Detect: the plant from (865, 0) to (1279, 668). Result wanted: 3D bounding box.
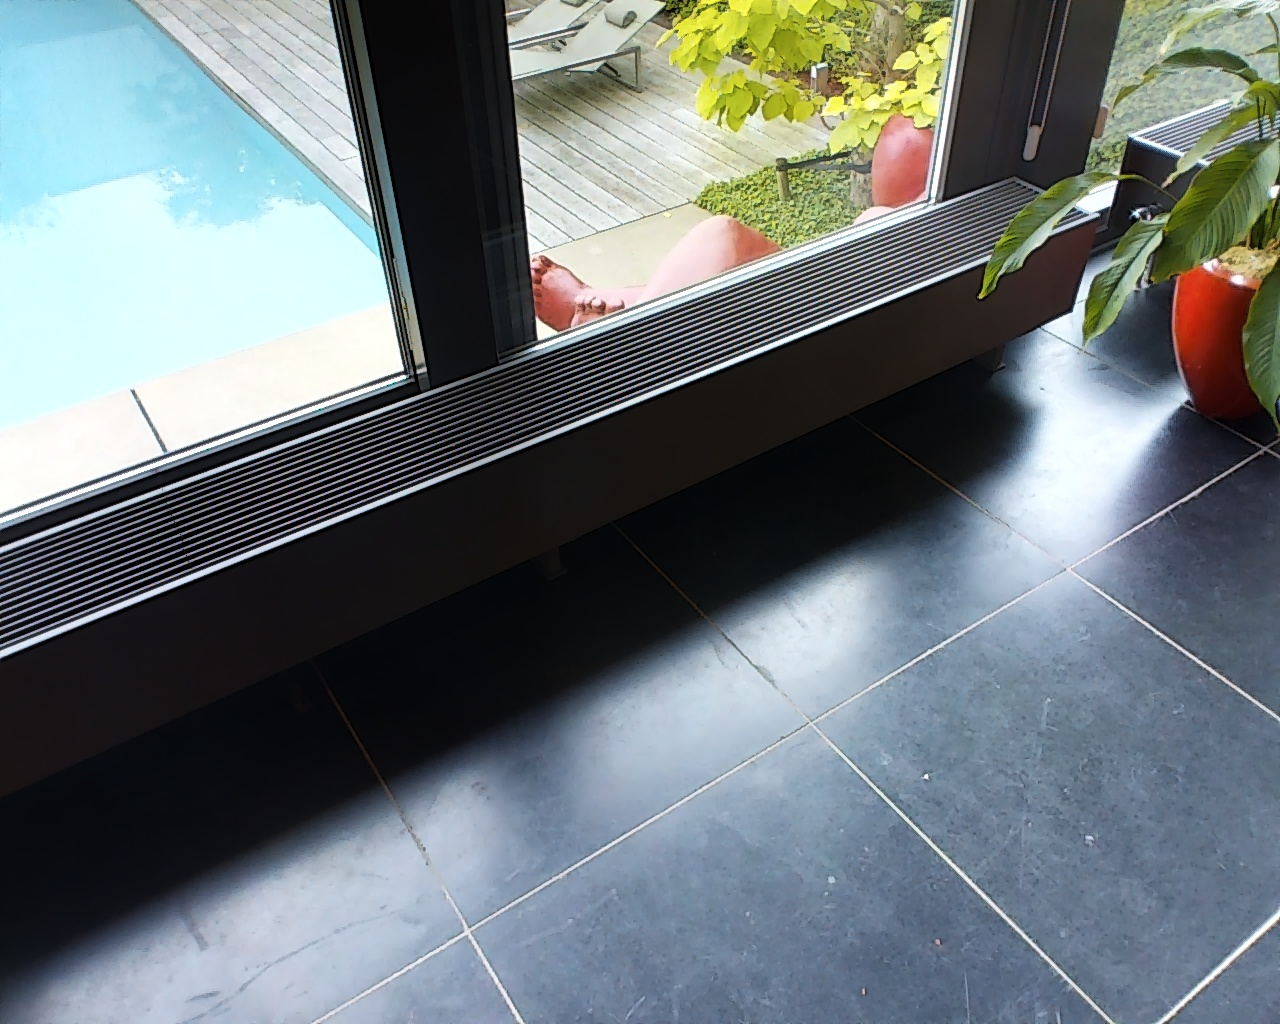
[{"bbox_3d":[1.300,-0.650,1.930,1.290,1.090,1.020,-24,46,-24],"label":"plant"}]
